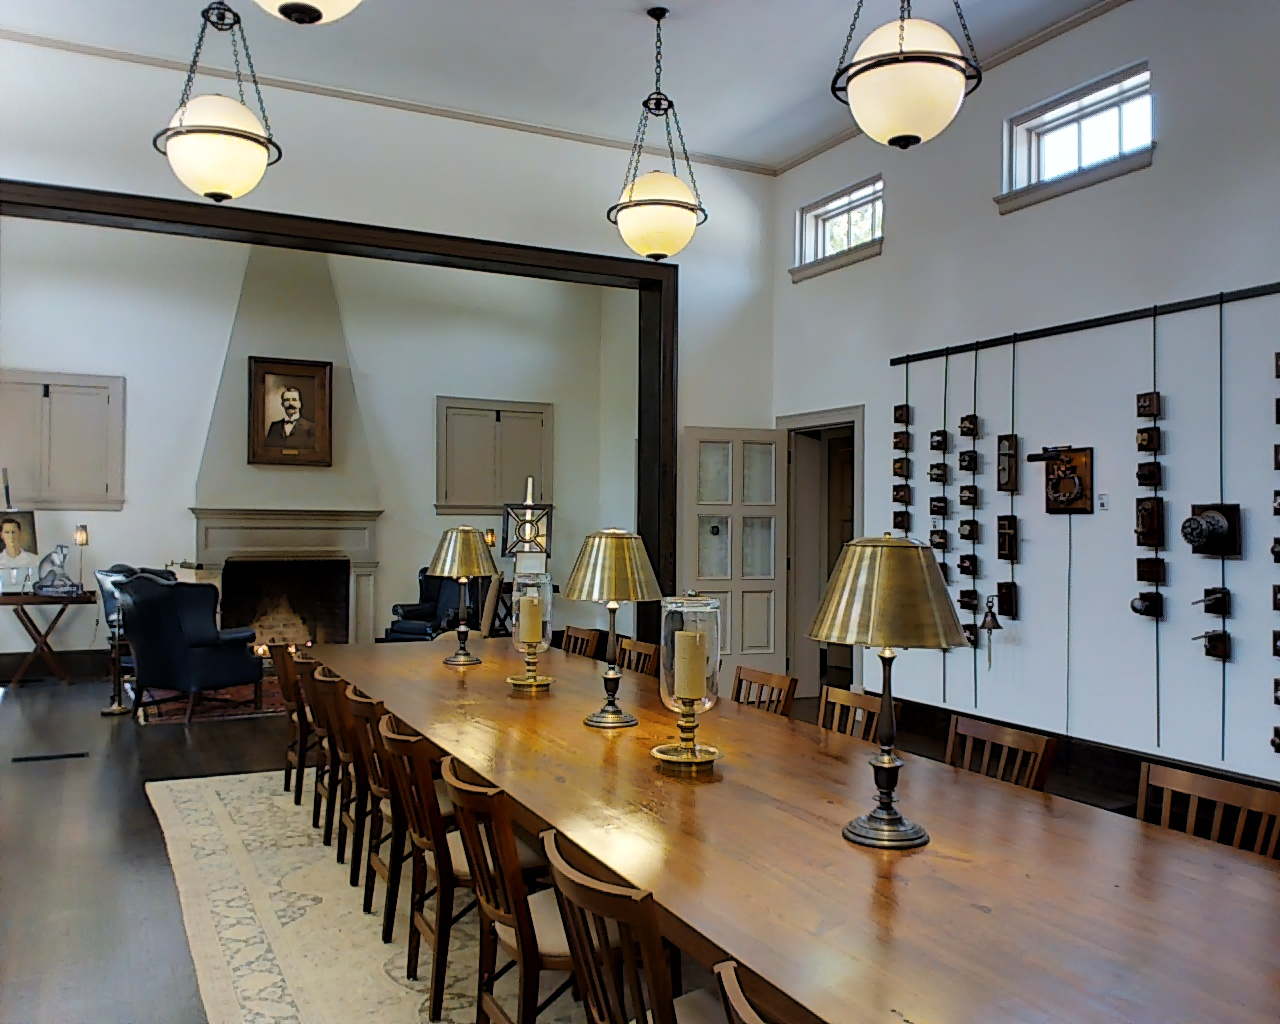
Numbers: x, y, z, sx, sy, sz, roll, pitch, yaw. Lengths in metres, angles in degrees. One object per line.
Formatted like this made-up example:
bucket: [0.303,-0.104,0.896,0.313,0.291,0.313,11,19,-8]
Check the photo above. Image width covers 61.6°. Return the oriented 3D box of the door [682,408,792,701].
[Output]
door: [0.820,0.350,9.010,0.950,2.380,0.180,1,0,-27]
